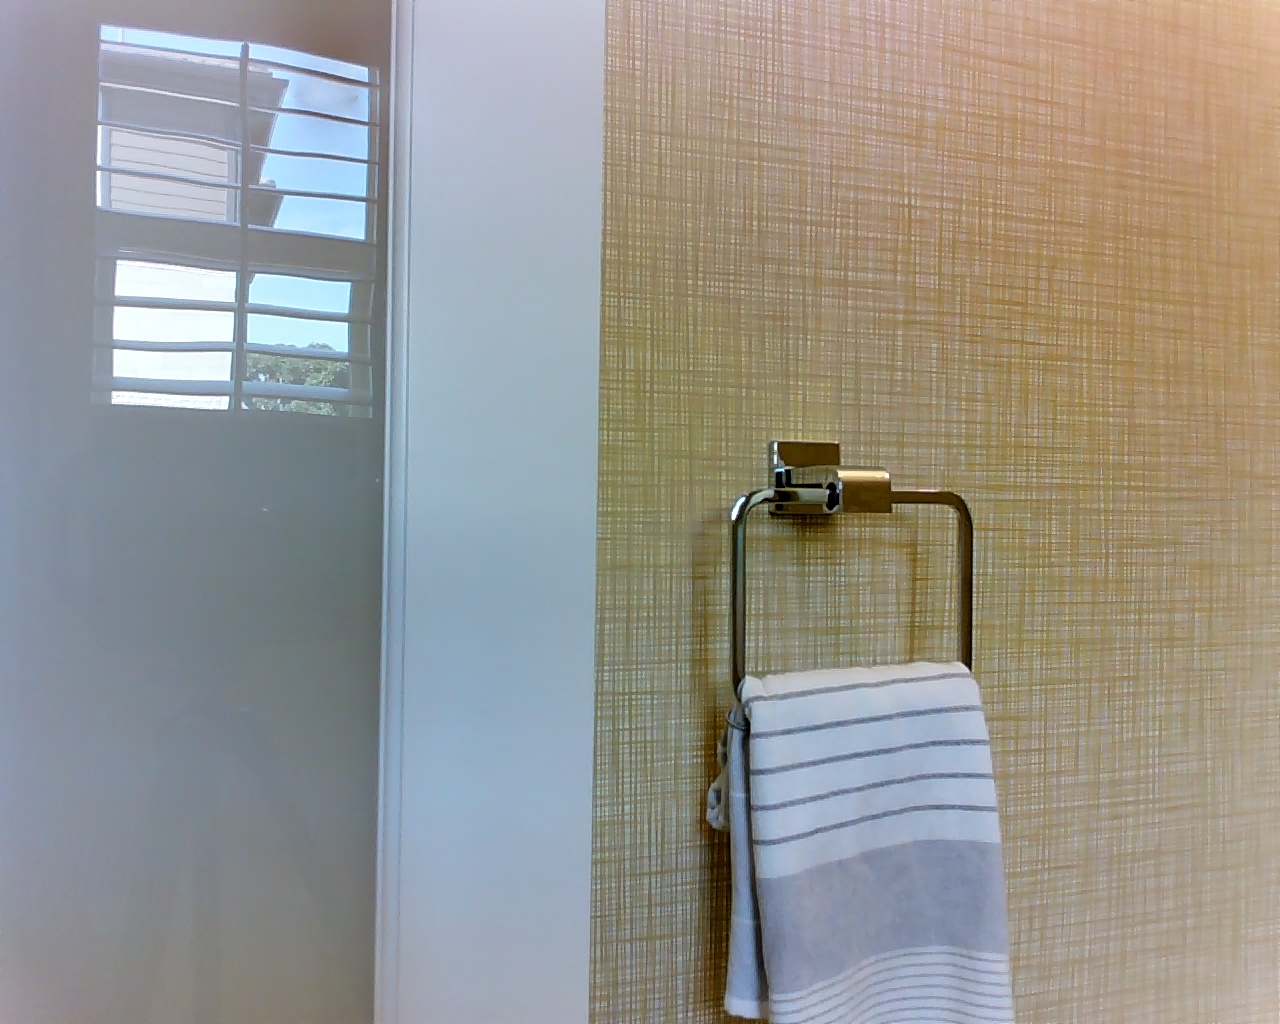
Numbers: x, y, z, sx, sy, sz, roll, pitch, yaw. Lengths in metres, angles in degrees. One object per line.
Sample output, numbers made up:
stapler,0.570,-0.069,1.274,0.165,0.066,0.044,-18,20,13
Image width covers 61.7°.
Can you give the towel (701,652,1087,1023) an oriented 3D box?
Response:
towel,0.160,0.250,0.720,0.180,0.280,0.180,0,1,-19
